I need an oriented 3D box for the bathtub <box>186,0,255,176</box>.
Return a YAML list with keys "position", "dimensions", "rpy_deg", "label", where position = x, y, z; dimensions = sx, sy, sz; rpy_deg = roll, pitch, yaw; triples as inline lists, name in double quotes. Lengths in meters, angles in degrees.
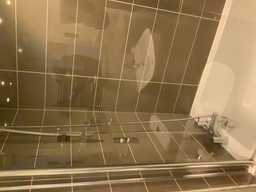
- position: [0.960, -0.370, 1.250]
  dimensions: [0.700, 0.550, 1.480]
  rpy_deg: [-122, 39, -60]
  label: "bathtub"
